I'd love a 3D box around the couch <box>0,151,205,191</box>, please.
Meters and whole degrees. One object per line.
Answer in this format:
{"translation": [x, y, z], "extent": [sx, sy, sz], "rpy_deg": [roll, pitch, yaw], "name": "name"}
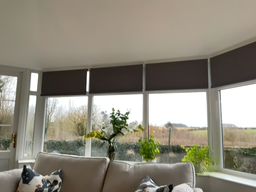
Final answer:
{"translation": [-0.380, 1.070, 1.990], "extent": [2.050, 0.870, 1.060], "rpy_deg": [-2, -9, 17], "name": "couch"}
